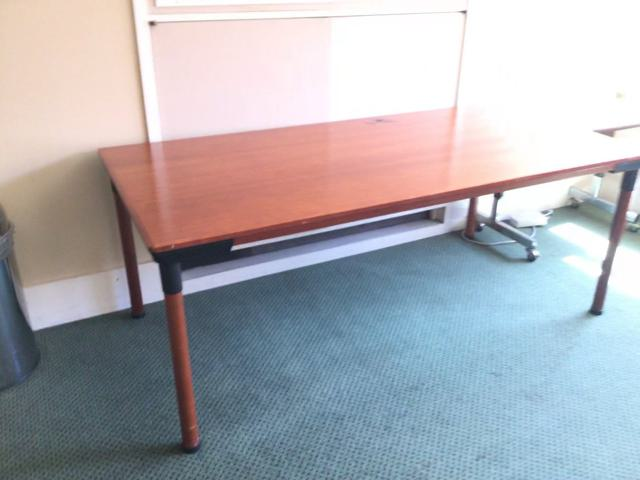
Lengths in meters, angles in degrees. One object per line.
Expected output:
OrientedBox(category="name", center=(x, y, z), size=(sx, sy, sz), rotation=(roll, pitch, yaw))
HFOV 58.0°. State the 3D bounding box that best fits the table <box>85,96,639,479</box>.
OrientedBox(category="table", center=(0.200, -0.030, 2.270), size=(1.880, 0.800, 1.070), rotation=(-12, 22, -24))
